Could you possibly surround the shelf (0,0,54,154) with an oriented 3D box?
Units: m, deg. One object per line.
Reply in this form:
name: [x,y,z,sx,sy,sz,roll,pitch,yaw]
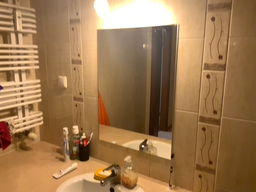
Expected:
shelf: [-0.810,-0.220,1.380,0.180,1.130,0.560,8,13,31]
